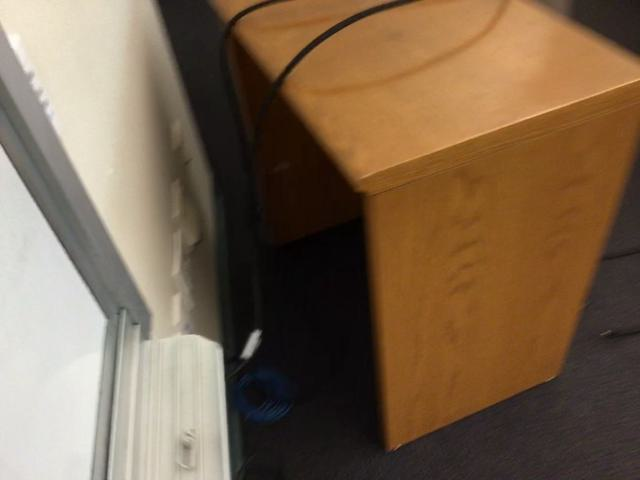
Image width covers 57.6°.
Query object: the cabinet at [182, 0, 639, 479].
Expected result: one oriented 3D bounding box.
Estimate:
[{"bbox_3d":[0.170,-0.120,1.310,0.560,0.840,0.840,-23,47,-12],"label":"cabinet"}]
